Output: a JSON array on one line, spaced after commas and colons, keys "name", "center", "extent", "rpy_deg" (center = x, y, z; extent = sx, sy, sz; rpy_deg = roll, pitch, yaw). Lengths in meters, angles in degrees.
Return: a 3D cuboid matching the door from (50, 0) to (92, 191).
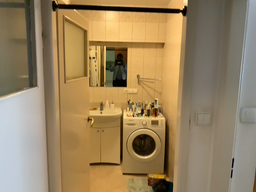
[{"name": "door", "center": [-0.410, 0.310, 1.700], "extent": [0.080, 1.990, 0.680], "rpy_deg": [1, 10, 2]}]
